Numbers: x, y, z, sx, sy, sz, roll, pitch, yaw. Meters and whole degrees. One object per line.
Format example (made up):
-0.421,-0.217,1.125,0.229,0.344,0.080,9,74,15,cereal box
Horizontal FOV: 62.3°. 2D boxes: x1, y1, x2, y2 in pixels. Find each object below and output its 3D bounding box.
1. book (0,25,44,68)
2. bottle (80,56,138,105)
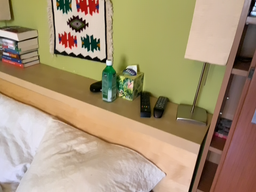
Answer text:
-0.760,-0.350,1.470,0.300,0.220,0.150,18,29,26,book
-0.100,-0.090,1.120,0.230,0.160,0.180,18,29,27,bottle
